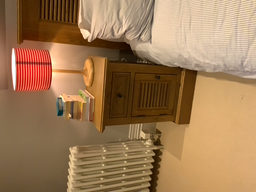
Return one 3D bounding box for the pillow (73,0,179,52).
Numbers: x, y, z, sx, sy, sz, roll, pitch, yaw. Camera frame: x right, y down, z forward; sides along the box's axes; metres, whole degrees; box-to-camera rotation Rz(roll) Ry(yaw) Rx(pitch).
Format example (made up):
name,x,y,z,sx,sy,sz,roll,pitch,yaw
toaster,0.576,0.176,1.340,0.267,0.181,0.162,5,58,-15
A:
name,x,y,z,sx,sy,sz,roll,pitch,yaw
pillow,-0.030,-0.630,1.200,0.220,0.550,0.670,-41,-55,-63
